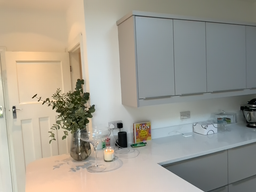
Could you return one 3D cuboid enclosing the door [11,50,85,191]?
[{"bbox_3d":[-1.010,0.450,2.790,0.780,2.050,0.050,-5,5,-29],"label":"door"}]
